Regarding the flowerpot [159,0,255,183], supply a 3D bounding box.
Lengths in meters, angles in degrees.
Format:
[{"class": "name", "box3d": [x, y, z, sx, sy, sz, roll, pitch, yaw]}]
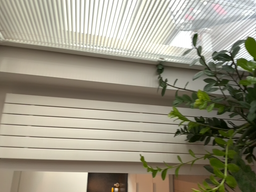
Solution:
[{"class": "flowerpot", "box3d": [0.860, 0.040, 1.350, 1.110, 0.980, 0.880, 131, 144, -70]}]
